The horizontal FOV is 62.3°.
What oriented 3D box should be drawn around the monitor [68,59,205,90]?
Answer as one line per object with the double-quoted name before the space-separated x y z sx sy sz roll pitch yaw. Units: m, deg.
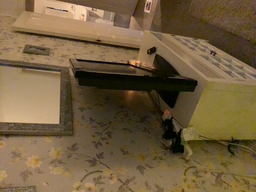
"monitor" -0.050 -0.170 1.430 0.920 0.660 0.050 -140 53 -68
